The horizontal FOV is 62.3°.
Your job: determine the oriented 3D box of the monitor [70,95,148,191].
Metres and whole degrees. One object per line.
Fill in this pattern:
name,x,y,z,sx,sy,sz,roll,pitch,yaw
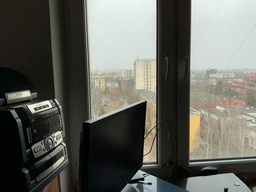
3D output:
monitor,-0.030,0.240,0.910,0.050,0.380,0.590,4,12,22

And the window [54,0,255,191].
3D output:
window,0.410,-0.210,1.210,1.560,1.490,0.140,-1,7,-5

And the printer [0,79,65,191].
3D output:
printer,-0.470,0.150,0.810,0.390,0.410,0.270,-2,7,-8
